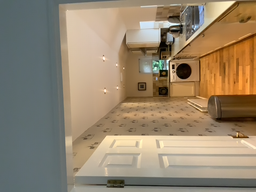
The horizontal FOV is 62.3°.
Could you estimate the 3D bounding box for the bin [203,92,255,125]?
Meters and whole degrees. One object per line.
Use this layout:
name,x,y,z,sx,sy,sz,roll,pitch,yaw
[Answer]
bin,1.370,0.150,2.720,0.360,0.700,0.390,-32,-59,-85
